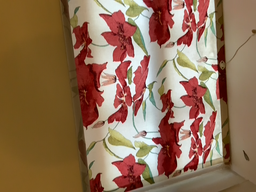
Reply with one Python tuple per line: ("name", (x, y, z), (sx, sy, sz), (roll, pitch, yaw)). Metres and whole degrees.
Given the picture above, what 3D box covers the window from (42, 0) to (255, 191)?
("window", (0.120, -0.040, 0.780), (0.360, 0.720, 1.110), (180, 82, -68))
